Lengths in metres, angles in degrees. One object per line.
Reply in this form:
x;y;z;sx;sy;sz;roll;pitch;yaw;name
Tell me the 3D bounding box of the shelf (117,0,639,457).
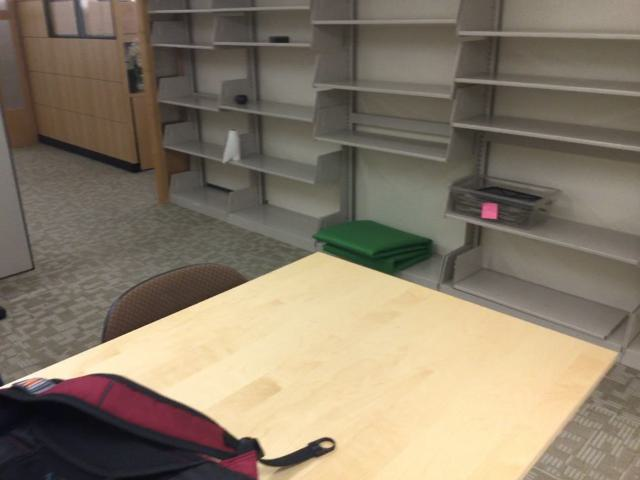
1.210;-0.300;1.900;0.810;1.890;7.140;-21;24;-34;shelf
